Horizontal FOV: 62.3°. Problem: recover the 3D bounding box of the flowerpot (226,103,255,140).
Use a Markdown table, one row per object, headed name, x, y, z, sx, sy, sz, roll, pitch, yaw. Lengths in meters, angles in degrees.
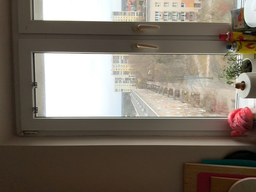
| name | x | y | z | sx | sy | sz | roll | pitch | yaw |
| --- | --- | --- | --- | --- | --- | --- | --- | --- | --- |
| flowerpot | 0.680 | 0.140 | 1.180 | 0.130 | 0.200 | 0.180 | -113 | 23 | -84 |
